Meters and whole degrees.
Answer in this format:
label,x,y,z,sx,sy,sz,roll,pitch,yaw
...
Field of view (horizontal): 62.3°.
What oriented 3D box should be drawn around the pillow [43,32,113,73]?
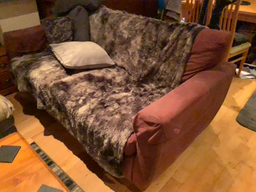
label,x,y,z,sx,sy,sz,roll,pitch,yaw
pillow,-0.420,-0.380,1.770,0.390,0.120,0.440,-25,42,-33
